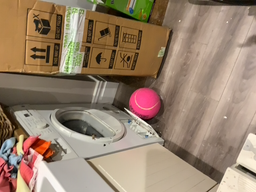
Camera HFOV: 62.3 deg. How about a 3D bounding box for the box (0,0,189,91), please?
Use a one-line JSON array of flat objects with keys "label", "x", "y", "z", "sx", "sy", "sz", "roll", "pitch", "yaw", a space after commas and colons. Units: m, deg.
[{"label": "box", "x": -0.350, "y": -0.290, "z": 1.080, "sx": 0.680, "sy": 1.460, "sz": 0.390, "roll": 11, "pitch": 96, "yaw": 40}]
